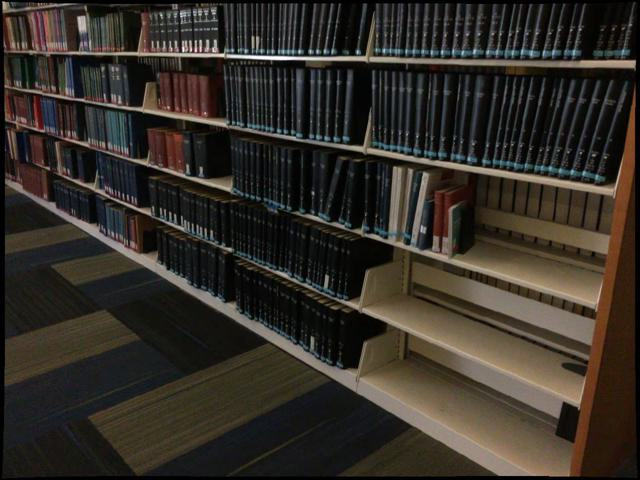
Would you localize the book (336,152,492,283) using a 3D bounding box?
[{"bbox_3d":[0.339,-0.110,2.200,0.270,0.351,0.519,-18,25,-39],"label":"book"}]

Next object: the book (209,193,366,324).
[{"bbox_3d":[-0.190,0.050,2.730,0.130,0.361,0.989,-18,25,-39],"label":"book"}]

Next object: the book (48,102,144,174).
[{"bbox_3d":[-1.576,-0.732,3.990,0.150,0.351,1.159,-18,25,-39],"label":"book"}]

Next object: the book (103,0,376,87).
[{"bbox_3d":[-0.529,-1.003,2.760,0.140,0.421,2.018,-18,25,-39],"label":"book"}]

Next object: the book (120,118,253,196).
[{"bbox_3d":[-0.808,-0.511,3.380,0.280,0.291,0.979,-18,25,-39],"label":"book"}]

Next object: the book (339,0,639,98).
[{"bbox_3d":[0.439,-0.672,1.780,0.100,0.391,0.979,-18,25,-39],"label":"book"}]

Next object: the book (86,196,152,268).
[{"bbox_3d":[-1.426,-0.070,4.060,0.110,0.341,0.729,-18,25,-39],"label":"book"}]

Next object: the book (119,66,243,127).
[{"bbox_3d":[-0.818,-0.842,3.310,0.280,0.271,0.869,-18,25,-39],"label":"book"}]

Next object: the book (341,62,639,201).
[{"bbox_3d":[0.499,-0.401,1.900,0.210,0.331,1.009,-18,25,-39],"label":"book"}]

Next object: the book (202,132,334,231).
[{"bbox_3d":[-0.259,-0.291,2.640,0.150,0.311,0.769,-18,25,-39],"label":"book"}]

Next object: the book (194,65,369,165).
[{"bbox_3d":[-0.209,-0.582,2.540,0.130,0.341,1.039,-18,25,-39],"label":"book"}]

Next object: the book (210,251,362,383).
[{"bbox_3d":[-0.199,0.341,2.830,0.140,0.311,0.989,-18,25,-39],"label":"book"}]
